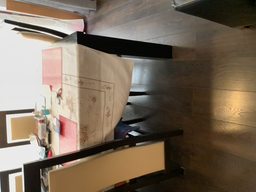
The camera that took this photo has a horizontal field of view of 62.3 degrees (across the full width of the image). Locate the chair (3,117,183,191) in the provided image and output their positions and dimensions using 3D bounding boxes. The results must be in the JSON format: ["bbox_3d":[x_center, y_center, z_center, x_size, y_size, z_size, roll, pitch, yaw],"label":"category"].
[{"bbox_3d":[-0.190,0.420,1.440,0.540,1.070,0.370,6,97,53],"label":"chair"}]

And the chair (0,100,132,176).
[{"bbox_3d":[-0.560,0.290,1.920,0.540,1.070,0.390,10,100,52],"label":"chair"}]
